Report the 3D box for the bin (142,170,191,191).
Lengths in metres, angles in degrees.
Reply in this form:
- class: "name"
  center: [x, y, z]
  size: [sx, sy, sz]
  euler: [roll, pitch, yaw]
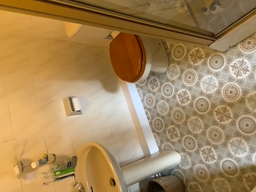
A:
- class: "bin"
  center: [0.350, 0.830, 1.870]
  size: [0.230, 0.350, 0.240]
  euler: [-22, 77, 46]
